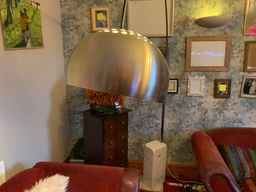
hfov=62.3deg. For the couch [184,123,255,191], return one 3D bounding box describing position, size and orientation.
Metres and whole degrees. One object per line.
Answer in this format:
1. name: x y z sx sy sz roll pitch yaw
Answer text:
1. couch: 1.400 0.860 2.230 1.400 0.770 1.070 2 13 7
